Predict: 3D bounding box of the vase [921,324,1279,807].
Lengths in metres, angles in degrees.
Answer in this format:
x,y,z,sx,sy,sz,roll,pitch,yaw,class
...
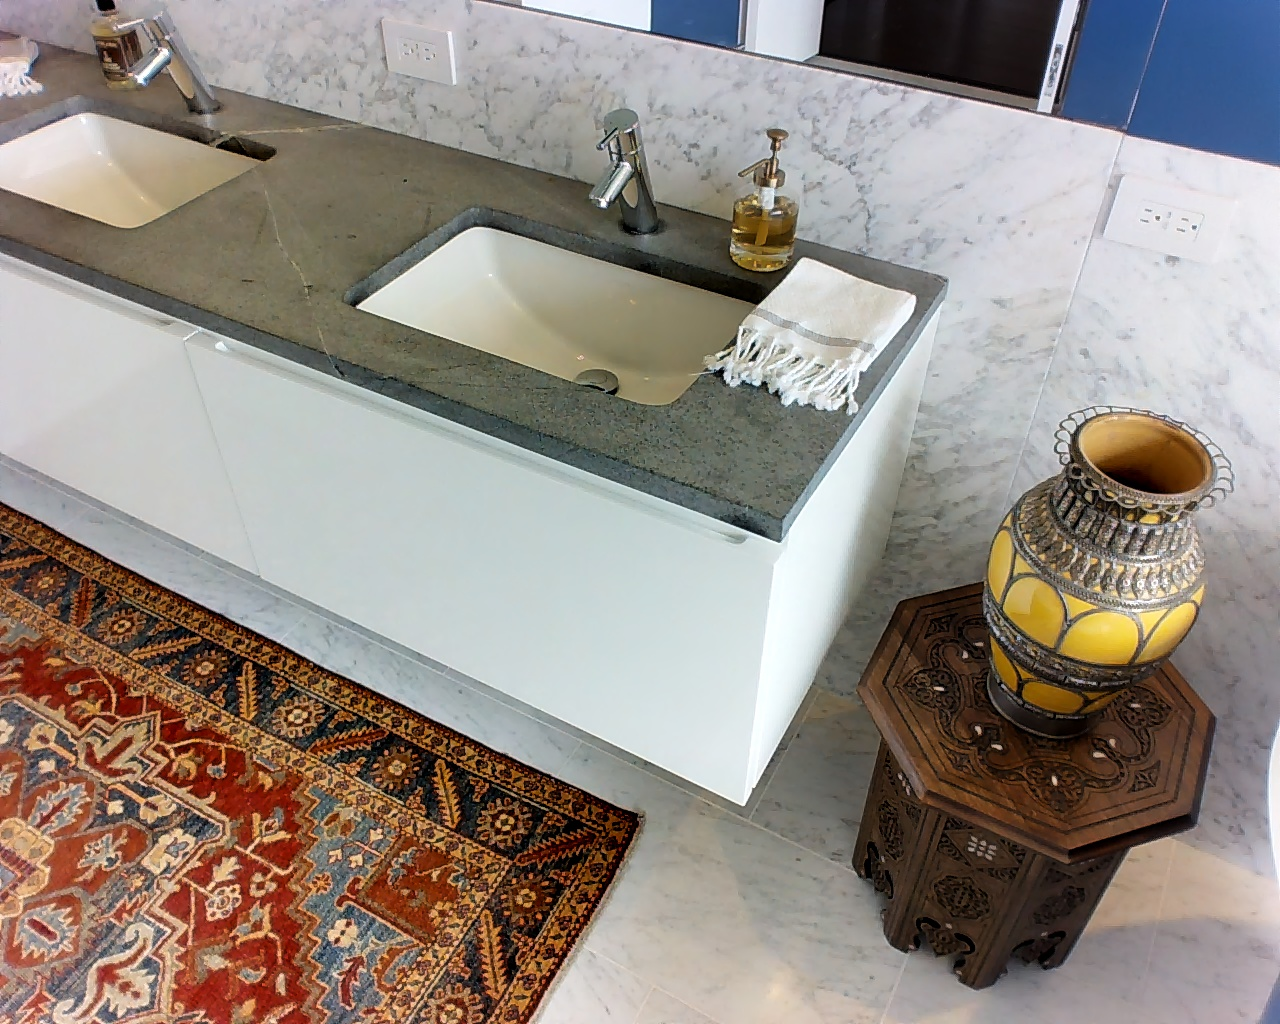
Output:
x,y,z,sx,sy,sz,roll,pitch,yaw,class
0.540,0.060,1.270,0.240,0.400,0.330,22,46,21,vase

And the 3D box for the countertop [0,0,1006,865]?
x,y,z,sx,sy,sz,roll,pitch,yaw,class
-0.700,-0.330,1.730,2.310,0.580,0.540,22,46,21,countertop

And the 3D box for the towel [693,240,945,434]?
x,y,z,sx,sy,sz,roll,pitch,yaw,class
0.210,-0.210,1.230,0.190,0.040,0.280,21,46,20,towel
